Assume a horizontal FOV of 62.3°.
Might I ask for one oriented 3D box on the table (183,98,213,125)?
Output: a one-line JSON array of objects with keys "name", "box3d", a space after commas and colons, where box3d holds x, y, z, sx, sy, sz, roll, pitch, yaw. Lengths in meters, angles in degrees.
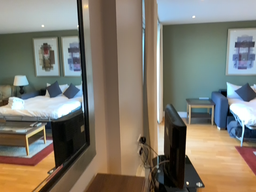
[{"name": "table", "box3d": [1.710, 0.360, 5.260, 0.600, 0.490, 0.700, 0, 10, 11]}]
